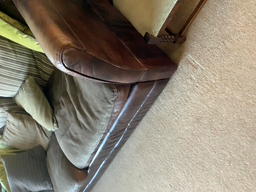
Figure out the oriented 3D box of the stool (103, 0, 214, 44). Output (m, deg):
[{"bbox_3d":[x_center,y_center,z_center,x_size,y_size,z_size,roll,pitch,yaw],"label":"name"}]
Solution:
[{"bbox_3d":[0.160,-0.510,1.010,0.350,0.330,0.370,55,133,24],"label":"stool"}]
